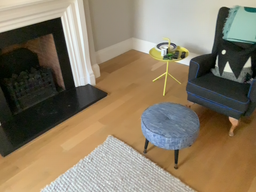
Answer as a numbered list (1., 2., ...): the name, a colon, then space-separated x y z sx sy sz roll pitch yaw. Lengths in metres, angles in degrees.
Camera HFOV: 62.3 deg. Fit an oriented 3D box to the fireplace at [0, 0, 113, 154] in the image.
1. fireplace: -1.120 -0.500 2.130 0.930 1.400 1.720 24 42 33
